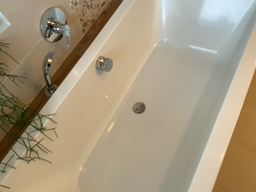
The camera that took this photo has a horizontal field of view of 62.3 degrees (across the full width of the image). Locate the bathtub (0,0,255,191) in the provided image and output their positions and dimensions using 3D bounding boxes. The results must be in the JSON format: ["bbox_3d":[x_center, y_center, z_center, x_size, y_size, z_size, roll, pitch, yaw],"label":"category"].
[{"bbox_3d":[0.130,0.020,1.250,0.900,0.590,2.060,23,67,22],"label":"bathtub"}]
